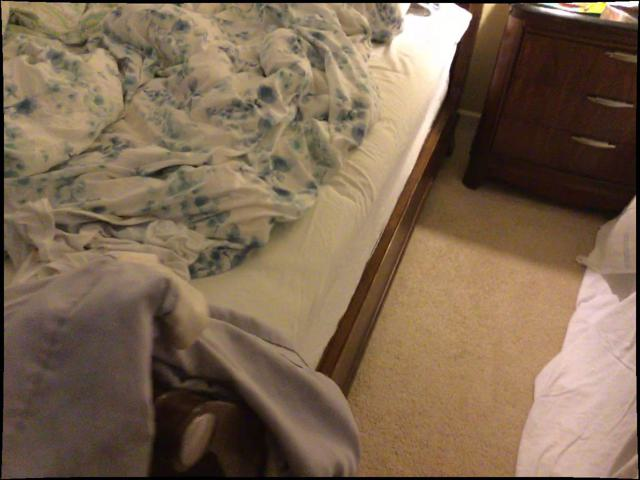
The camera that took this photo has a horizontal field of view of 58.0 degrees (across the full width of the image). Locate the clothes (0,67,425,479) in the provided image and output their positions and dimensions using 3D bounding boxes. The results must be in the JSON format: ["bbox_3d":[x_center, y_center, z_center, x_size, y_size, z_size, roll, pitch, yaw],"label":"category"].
[{"bbox_3d":[-0.239,0.291,0.800,0.539,0.781,0.560,15,43,13],"label":"clothes"}]
